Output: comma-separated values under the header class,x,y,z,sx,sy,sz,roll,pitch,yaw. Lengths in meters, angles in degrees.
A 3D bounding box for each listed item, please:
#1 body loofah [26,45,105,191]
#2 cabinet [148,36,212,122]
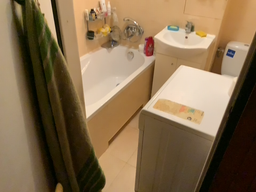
class,x,y,z,sx,sy,sz,roll,pitch,yaw
body loofah,-0.180,0.410,0.870,0.140,1.160,0.320,-7,36,-12
cabinet,0.510,-0.170,2.230,0.470,0.770,0.260,21,39,24
